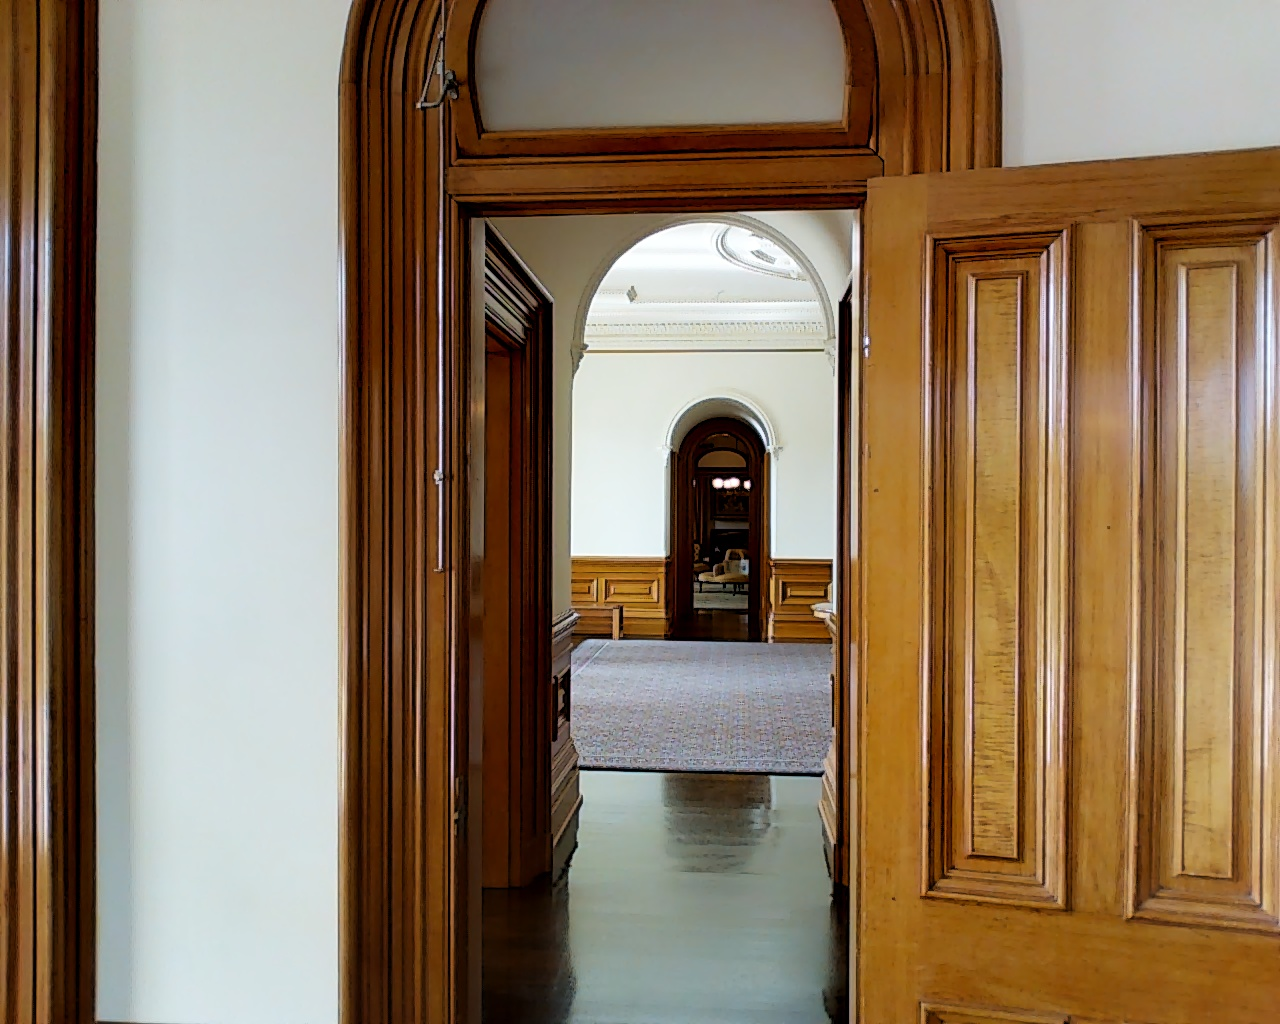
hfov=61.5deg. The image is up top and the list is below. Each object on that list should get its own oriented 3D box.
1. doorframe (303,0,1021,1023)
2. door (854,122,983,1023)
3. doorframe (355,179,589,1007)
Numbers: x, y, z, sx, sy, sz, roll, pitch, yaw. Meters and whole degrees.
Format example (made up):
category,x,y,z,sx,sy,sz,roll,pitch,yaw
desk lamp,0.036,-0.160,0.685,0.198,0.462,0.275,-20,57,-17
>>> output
category,x,y,z,sx,sy,sz,roll,pitch,yaw
doorframe,0.050,-0.130,2.530,1.510,3.310,0.490,1,0,6
door,0.580,0.370,2.270,0.220,2.310,0.200,1,0,5
doorframe,-0.560,0.250,4.130,0.470,2.540,1.620,1,0,6
